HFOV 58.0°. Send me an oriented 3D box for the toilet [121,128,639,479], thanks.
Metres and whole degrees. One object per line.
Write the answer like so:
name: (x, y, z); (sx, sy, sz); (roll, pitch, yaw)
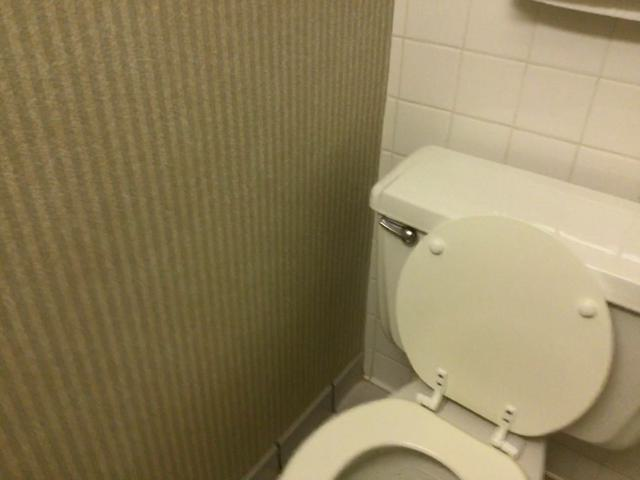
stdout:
toilet: (0.210, 0.340, 0.900); (0.530, 0.740, 0.680); (20, 39, 28)
